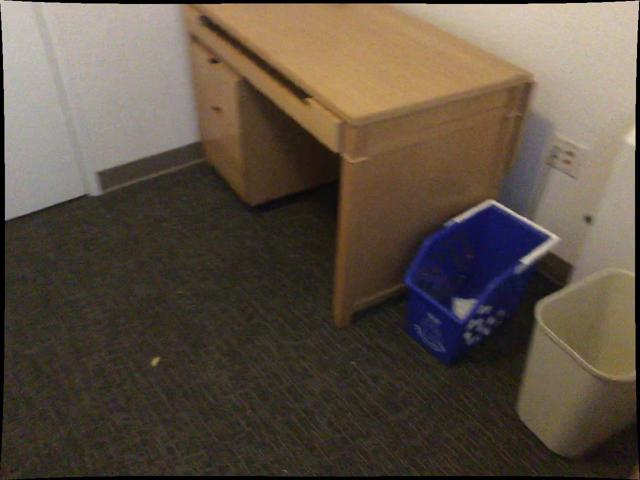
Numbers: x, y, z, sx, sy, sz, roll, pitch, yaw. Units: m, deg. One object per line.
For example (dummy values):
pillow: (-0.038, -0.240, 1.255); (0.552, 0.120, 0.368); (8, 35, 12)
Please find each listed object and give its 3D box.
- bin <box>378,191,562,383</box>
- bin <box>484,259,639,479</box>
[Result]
bin: (0.459, 0.130, 1.810); (0.430, 0.370, 0.300); (-24, 43, -34)
bin: (0.749, 0.351, 1.550); (0.459, 0.400, 0.290); (-17, 37, -26)
